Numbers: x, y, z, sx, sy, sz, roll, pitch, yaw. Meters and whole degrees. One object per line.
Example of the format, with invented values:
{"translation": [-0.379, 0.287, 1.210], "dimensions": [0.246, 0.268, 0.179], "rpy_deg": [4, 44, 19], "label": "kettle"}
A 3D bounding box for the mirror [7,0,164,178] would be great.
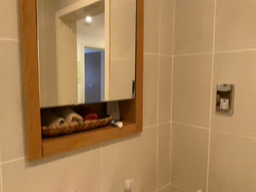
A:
{"translation": [-0.120, -0.210, 0.950], "dimensions": [0.710, 0.930, 0.110], "rpy_deg": [-5, 8, -40], "label": "mirror"}
